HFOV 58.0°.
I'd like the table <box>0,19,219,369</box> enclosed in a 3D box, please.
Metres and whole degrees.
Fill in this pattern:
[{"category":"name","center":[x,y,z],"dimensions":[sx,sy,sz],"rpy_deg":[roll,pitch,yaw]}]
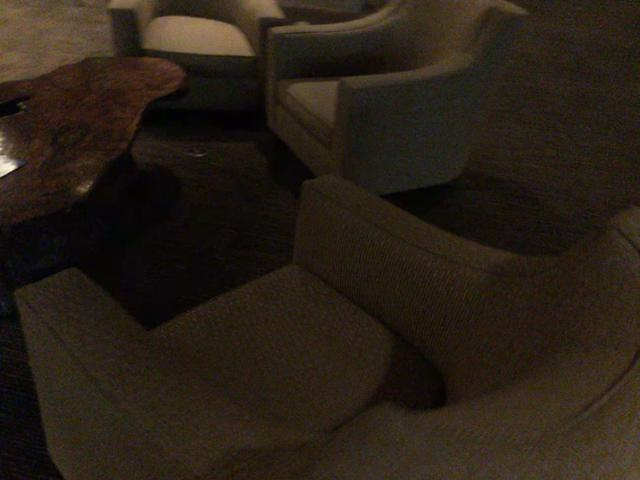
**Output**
[{"category":"table","center":[-0.950,-0.320,2.190],"dimensions":[0.750,0.480,1.540],"rpy_deg":[9,36,1]}]
